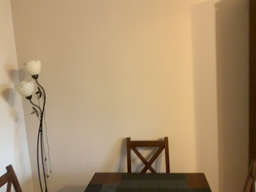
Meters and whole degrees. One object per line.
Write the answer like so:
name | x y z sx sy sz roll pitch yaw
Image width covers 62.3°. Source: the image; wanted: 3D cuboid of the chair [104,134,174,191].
chair | 0.120 0.840 1.640 0.440 0.960 0.480 -3 7 8
